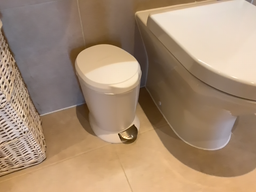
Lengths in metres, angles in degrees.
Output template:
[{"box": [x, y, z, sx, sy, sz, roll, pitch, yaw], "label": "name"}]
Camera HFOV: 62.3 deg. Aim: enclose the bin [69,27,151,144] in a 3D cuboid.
[{"box": [-0.070, -0.040, 0.800, 0.200, 0.320, 0.250, -15, 47, -14], "label": "bin"}]
